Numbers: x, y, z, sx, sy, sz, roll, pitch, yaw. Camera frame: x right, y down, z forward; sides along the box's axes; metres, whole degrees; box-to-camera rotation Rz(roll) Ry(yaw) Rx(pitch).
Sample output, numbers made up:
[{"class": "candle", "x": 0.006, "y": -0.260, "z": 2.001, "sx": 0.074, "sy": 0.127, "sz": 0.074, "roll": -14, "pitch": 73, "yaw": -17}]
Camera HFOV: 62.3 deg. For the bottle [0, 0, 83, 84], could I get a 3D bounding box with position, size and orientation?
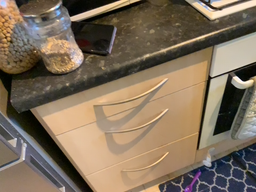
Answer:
[{"class": "bottle", "x": -0.240, "y": -0.180, "z": 0.490, "sx": 0.190, "sy": 0.200, "sz": 0.160, "roll": -20, "pitch": 48, "yaw": -7}]
